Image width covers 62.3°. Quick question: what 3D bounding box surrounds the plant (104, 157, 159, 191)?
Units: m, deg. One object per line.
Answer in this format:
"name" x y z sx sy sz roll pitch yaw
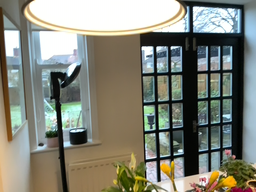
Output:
"plant" 0.010 0.410 0.840 0.180 0.270 0.160 -3 6 -12

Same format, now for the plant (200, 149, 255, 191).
"plant" 0.620 0.430 1.120 0.270 0.150 0.370 -5 6 -31
